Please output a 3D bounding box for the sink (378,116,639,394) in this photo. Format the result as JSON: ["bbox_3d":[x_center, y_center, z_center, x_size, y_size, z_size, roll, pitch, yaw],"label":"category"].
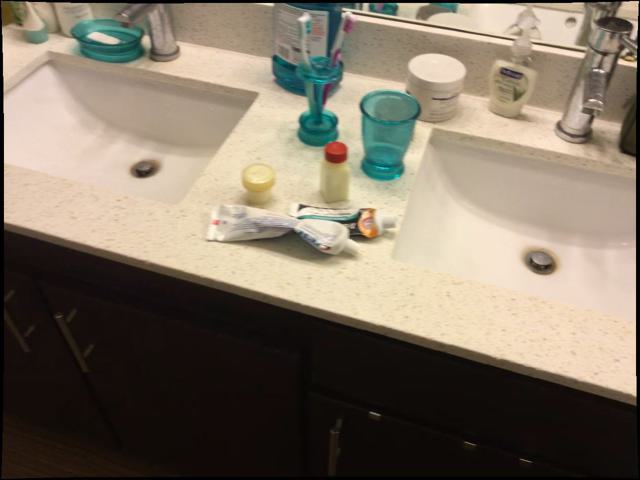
[{"bbox_3d":[0.349,0.010,0.870,0.449,0.180,0.320,12,46,12],"label":"sink"}]

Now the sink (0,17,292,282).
[{"bbox_3d":[-0.349,-0.190,1.050,0.479,0.200,0.400,12,48,13],"label":"sink"}]
